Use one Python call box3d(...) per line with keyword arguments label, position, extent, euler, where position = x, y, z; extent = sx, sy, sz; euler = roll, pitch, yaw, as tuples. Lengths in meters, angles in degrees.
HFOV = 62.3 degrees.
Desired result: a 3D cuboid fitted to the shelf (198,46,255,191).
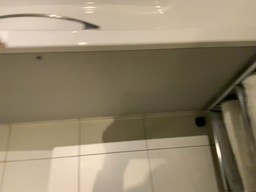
box3d(label="shelf", position=(0.580, 0.110, 0.800), extent=(0.300, 0.630, 0.440), euler=(-3, 63, -7))
